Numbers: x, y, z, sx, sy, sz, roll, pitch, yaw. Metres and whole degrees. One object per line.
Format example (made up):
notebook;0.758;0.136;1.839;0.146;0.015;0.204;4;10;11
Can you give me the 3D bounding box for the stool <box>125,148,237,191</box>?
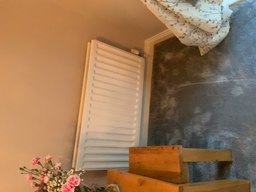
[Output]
stool;0.300;0.520;1.230;0.420;0.480;0.400;-19;65;50
